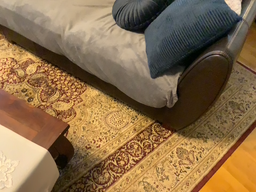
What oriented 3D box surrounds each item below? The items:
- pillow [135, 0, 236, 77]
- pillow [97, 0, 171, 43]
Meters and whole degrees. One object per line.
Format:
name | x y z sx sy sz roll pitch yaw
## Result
pillow | 0.250 -0.320 1.040 0.200 0.430 0.390 -1 86 -32
pillow | 0.060 -0.570 1.280 0.380 0.240 0.390 13 51 5
